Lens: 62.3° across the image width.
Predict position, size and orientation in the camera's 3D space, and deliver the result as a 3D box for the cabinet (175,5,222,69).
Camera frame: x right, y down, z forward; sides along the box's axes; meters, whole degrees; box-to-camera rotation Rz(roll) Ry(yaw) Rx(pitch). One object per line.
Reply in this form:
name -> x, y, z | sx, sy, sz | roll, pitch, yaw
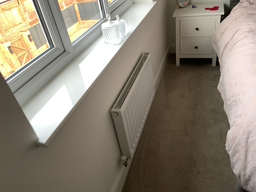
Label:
cabinet -> 0.870, -0.730, 2.660 | 0.490, 0.640, 0.400 | 5, 38, 19
